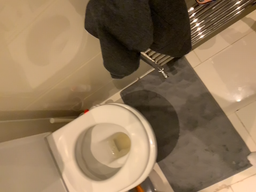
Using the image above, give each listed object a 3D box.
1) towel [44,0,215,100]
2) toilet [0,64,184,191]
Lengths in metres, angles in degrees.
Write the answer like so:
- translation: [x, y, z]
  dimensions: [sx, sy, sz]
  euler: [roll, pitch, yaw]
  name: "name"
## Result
- translation: [0.070, -0.140, 0.620]
  dimensions: [0.290, 0.510, 0.160]
  euler: [-34, 77, 16]
  name: "towel"
- translation: [-0.130, 0.240, 0.870]
  dimensions: [0.490, 0.810, 0.390]
  euler: [-31, 77, 16]
  name: "toilet"
